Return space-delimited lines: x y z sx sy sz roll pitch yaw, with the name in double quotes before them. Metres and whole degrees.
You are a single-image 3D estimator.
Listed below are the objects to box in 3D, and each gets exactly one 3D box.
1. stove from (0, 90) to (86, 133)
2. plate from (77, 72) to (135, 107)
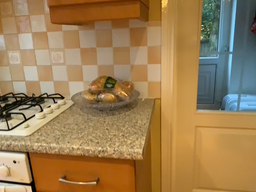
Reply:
"stove" -0.610 0.050 1.110 0.610 0.020 0.540 1 17 10
"plate" -0.110 -0.040 1.120 0.260 0.140 0.140 3 17 18
